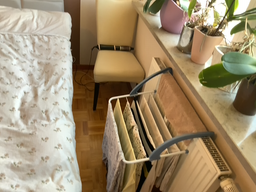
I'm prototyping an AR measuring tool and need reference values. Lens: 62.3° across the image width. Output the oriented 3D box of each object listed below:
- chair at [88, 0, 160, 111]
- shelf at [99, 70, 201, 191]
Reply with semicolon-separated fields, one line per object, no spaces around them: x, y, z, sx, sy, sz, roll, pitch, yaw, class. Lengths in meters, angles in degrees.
-0.120;-0.420;2.030;0.460;0.890;0.680;0;40;-14;chair
0.050;0.290;1.470;0.380;0.610;0.750;-1;40;-15;shelf
